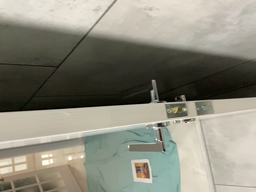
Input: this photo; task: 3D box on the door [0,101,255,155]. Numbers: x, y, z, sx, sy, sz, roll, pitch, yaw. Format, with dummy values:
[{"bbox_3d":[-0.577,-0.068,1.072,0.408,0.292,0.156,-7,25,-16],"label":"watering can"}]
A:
[{"bbox_3d":[-0.120,0.120,0.720,0.790,1.990,0.030,-20,76,52],"label":"door"}]
